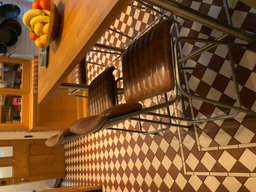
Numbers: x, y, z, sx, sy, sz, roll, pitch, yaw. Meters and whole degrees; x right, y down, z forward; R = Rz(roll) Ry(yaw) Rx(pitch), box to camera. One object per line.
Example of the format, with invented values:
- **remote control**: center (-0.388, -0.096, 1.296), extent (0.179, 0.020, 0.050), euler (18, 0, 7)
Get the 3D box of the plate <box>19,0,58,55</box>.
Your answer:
- **plate**: center (-0.540, -0.460, 1.270), extent (0.280, 0.160, 0.300), euler (-32, 60, 52)
